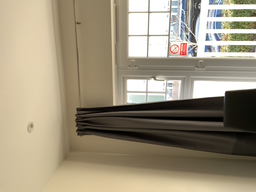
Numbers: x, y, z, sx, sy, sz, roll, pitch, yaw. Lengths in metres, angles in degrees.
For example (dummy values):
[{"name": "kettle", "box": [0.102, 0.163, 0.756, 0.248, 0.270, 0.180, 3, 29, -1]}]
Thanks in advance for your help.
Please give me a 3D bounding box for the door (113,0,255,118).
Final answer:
[{"name": "door", "box": [0.910, -0.770, 2.230, 0.070, 2.140, 2.040, -67, -21, -76]}]
